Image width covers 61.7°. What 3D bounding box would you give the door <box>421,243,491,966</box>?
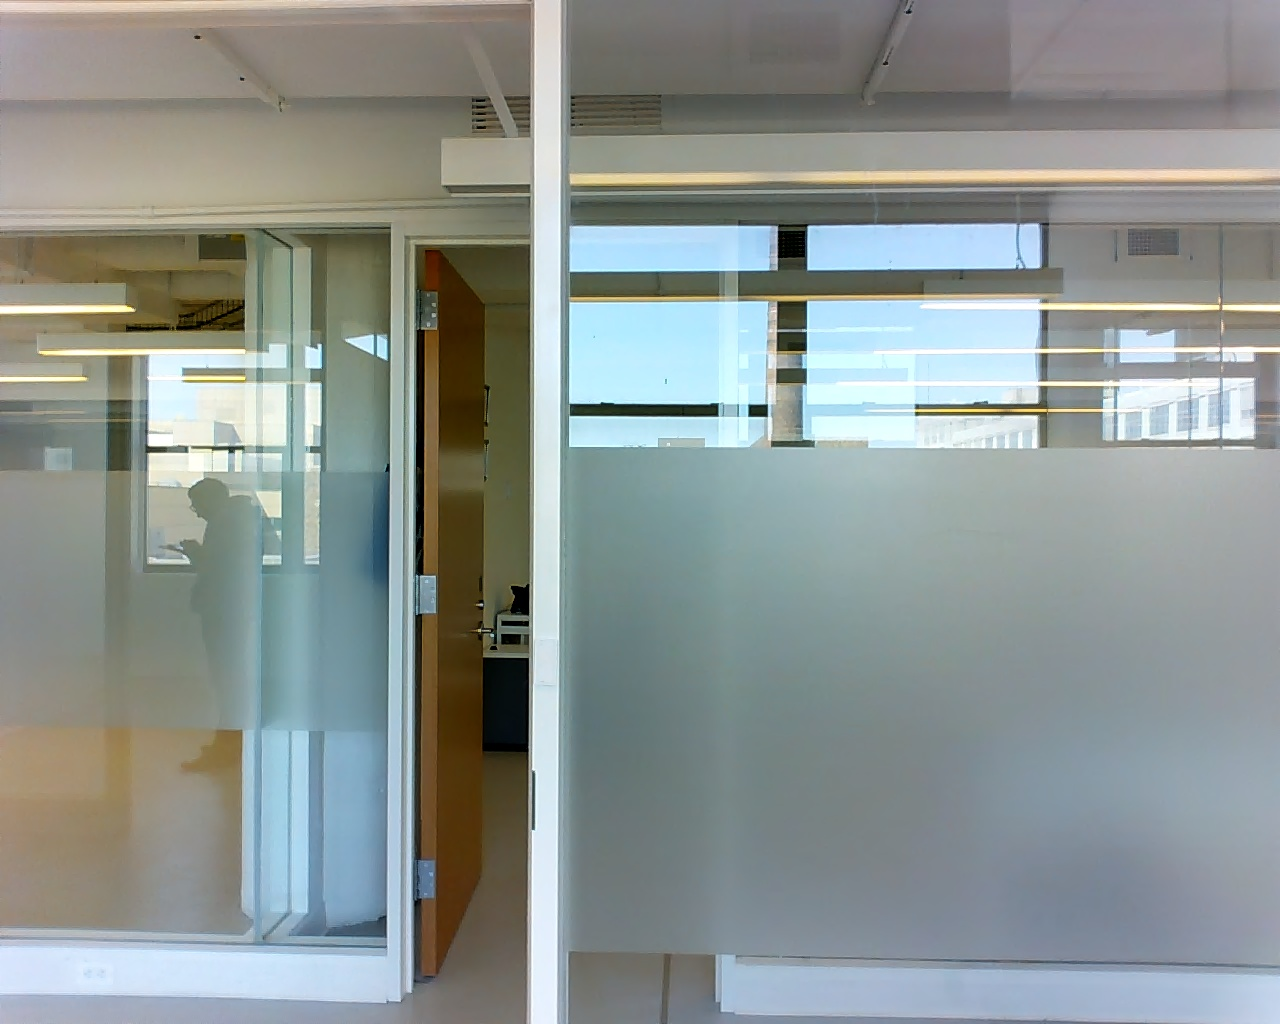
[{"bbox_3d":[-0.620,0.280,3.700,0.060,2.190,0.900,0,0,2],"label":"door"}]
